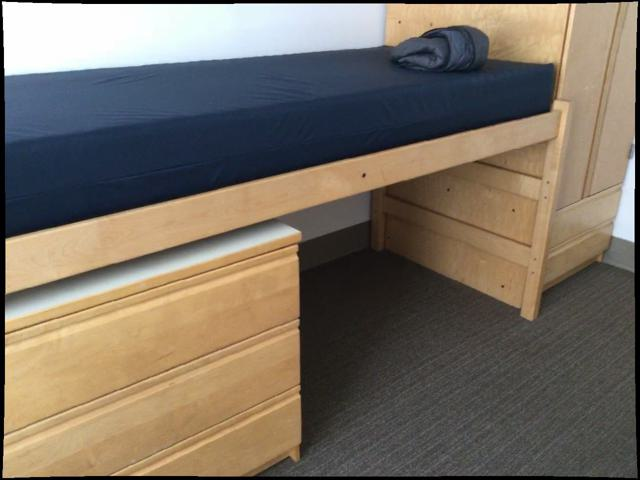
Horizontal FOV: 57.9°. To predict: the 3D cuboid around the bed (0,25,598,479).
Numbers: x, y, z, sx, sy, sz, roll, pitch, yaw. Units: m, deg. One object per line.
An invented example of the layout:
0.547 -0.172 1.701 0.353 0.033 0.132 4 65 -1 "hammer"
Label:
-0.190 -0.080 2.030 2.159 1.101 1.060 -19 31 -35 "bed"
